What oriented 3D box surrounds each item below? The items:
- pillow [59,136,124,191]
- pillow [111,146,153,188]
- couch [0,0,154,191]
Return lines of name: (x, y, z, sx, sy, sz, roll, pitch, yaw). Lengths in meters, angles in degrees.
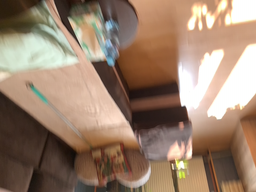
pillow: (-0.380, 0.750, 2.310, 0.520, 0.400, 0.280, 13, 148, 23)
pillow: (0.050, 0.760, 2.290, 0.330, 0.310, 0.200, 11, 147, 23)
couch: (-0.540, 0.350, 1.650, 1.110, 1.290, 2.270, -9, 145, 12)
